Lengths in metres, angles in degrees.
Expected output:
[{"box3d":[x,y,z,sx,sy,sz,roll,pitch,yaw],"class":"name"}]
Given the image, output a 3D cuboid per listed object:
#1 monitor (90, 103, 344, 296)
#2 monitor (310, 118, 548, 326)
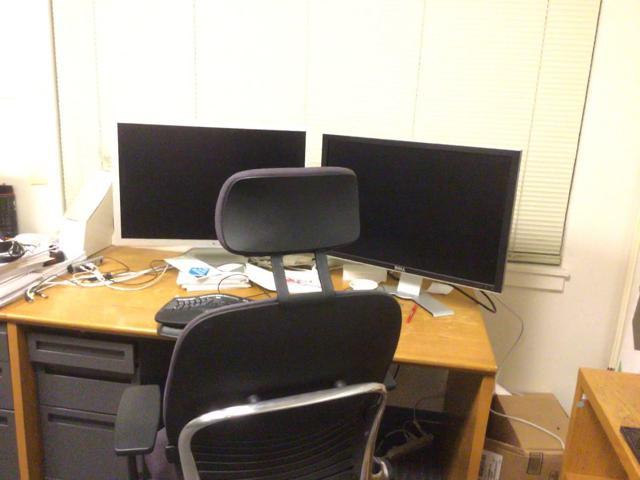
[{"box3d":[-0.350,-0.140,2.020,0.780,0.580,0.280,3,17,-8],"class":"monitor"},{"box3d":[0.330,-0.090,1.920,0.680,0.530,0.210,15,20,29],"class":"monitor"}]
